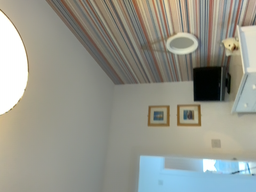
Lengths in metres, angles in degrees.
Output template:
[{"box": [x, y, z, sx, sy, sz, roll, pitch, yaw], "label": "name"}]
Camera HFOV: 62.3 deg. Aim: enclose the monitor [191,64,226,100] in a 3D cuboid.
[{"box": [0.840, -0.140, 2.240, 0.050, 0.330, 0.380, -63, -33, -57], "label": "monitor"}]
